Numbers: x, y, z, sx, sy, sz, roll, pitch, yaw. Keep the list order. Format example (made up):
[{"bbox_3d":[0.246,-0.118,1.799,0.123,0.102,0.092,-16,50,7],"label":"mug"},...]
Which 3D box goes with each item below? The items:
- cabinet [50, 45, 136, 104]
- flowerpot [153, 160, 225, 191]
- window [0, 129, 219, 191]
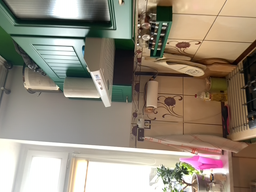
[{"bbox_3d":[-0.250,-0.160,1.760,0.430,0.600,0.310,88,-174,-73],"label":"cabinet"},{"bbox_3d":[0.510,0.770,1.840,0.280,0.540,0.350,85,-172,-78],"label":"flowerpot"},{"bbox_3d":[-0.290,1.140,2.020,0.360,2.190,1.460,89,-175,-70],"label":"window"}]
